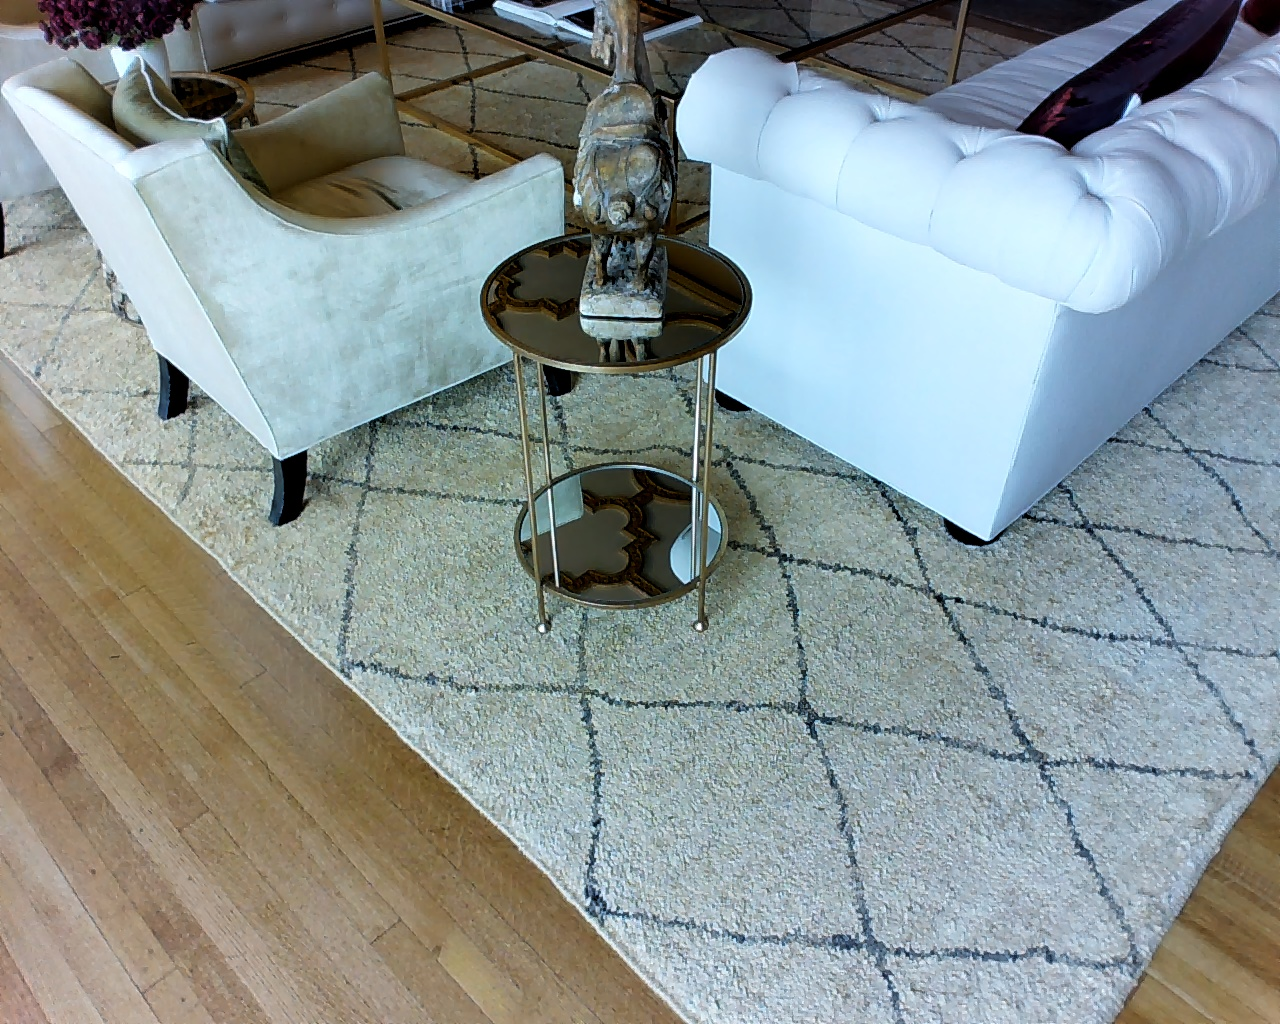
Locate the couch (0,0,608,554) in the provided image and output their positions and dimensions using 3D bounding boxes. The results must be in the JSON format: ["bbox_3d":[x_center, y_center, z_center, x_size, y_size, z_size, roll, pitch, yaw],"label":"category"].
[{"bbox_3d":[-0.710,-0.640,2.400,0.960,0.830,0.810,-33,51,-30],"label":"couch"}]

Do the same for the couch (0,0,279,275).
[{"bbox_3d":[-1.830,-1.410,3.250,0.960,0.890,0.820,-32,51,-30],"label":"couch"}]

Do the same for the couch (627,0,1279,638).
[{"bbox_3d":[1.360,-1.020,2.820,1.110,0.880,2.810,33,52,31],"label":"couch"}]
